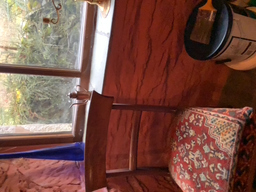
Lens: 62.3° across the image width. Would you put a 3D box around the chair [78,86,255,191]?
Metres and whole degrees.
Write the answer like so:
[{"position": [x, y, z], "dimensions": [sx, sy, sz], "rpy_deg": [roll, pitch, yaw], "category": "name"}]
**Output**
[{"position": [0.280, 0.260, 0.970], "dimensions": [0.540, 0.870, 0.510], "rpy_deg": [-159, 73, -64], "category": "chair"}]
